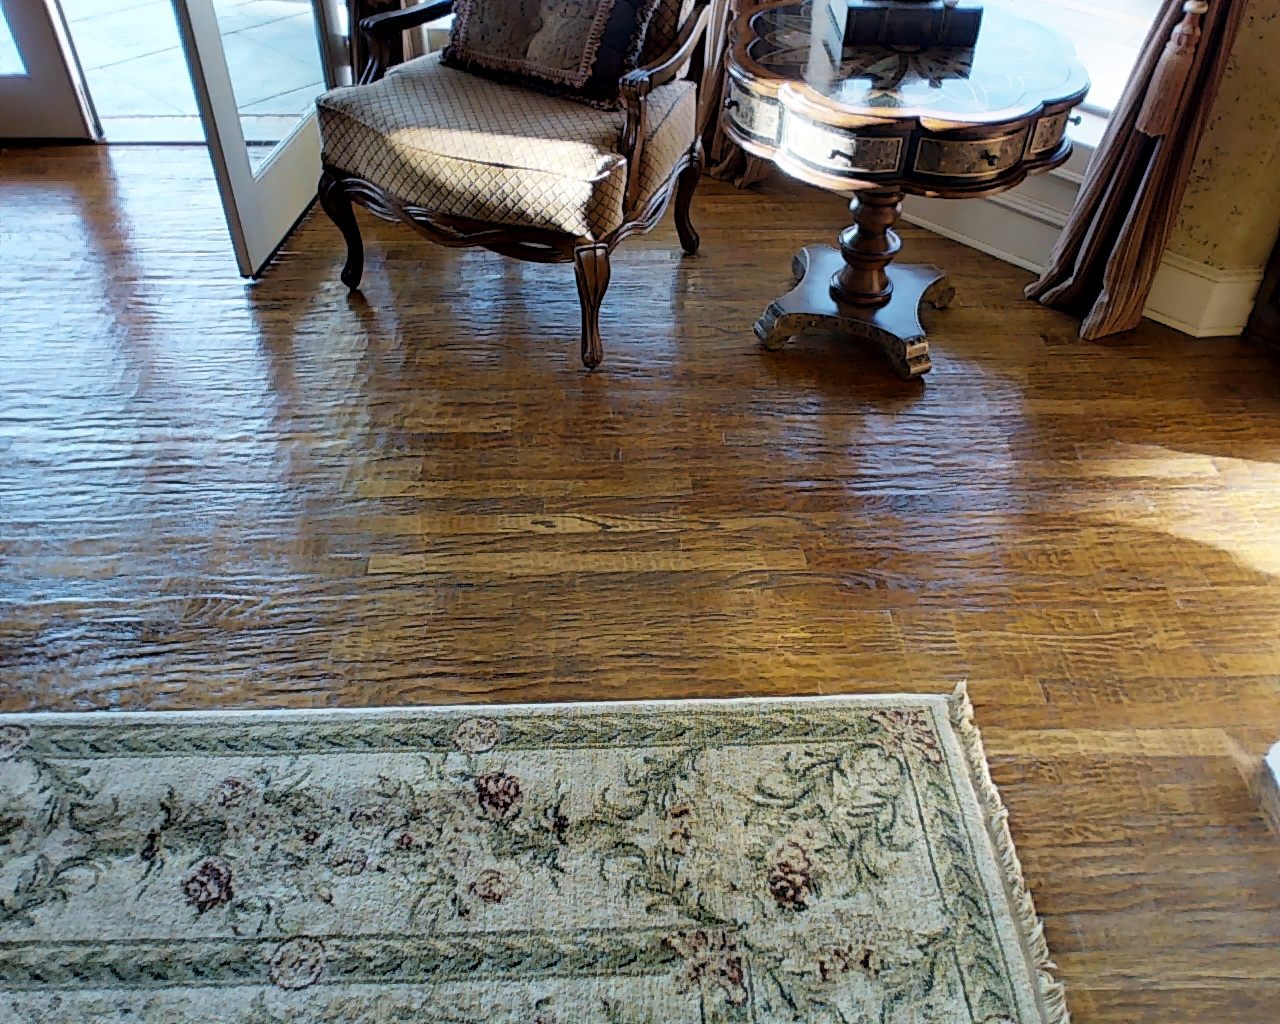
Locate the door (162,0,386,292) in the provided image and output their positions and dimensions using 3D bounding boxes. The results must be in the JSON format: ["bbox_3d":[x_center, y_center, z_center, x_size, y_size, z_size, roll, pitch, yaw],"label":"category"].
[{"bbox_3d":[-0.980,-1.880,2.500,0.150,2.510,1.000,4,43,3],"label":"door"}]

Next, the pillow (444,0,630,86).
[{"bbox_3d":[-0.260,-1.210,2.650,0.460,0.280,0.130,12,22,26],"label":"pillow"}]

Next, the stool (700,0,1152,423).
[{"bbox_3d":[0.590,-0.760,2.630,0.810,0.750,0.780,0,42,-1],"label":"stool"}]
